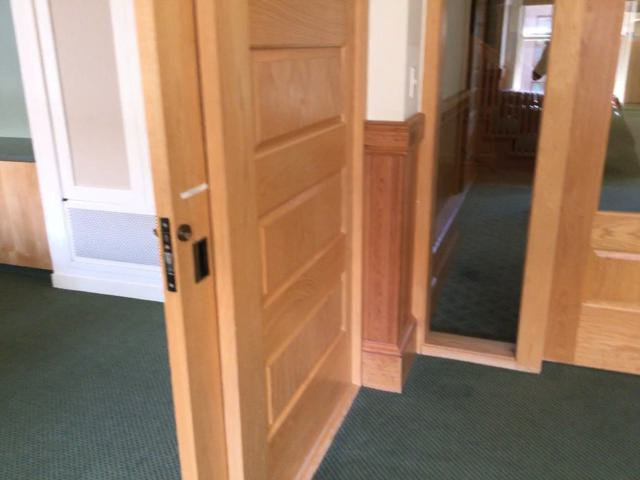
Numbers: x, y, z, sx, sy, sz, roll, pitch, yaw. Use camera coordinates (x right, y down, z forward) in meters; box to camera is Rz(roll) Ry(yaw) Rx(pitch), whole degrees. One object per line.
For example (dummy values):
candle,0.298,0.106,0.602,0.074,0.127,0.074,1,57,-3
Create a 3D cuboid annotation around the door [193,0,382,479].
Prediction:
door,-0.040,-0.110,1.770,0.110,1.880,0.950,9,20,21
